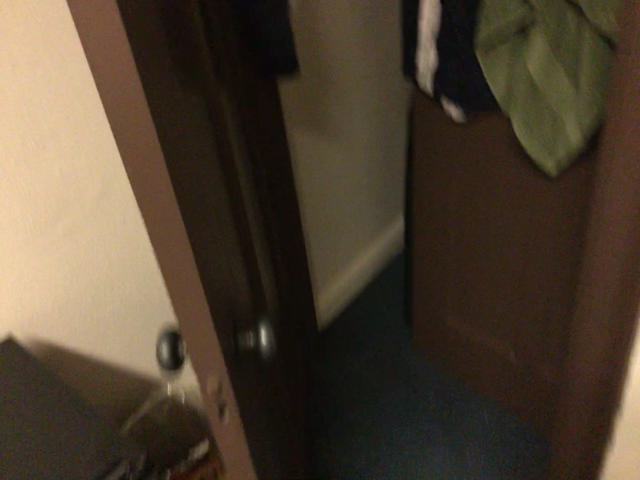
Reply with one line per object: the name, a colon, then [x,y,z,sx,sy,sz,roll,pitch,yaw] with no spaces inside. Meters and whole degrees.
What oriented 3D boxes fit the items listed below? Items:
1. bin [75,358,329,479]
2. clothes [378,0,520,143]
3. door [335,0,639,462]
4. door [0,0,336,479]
bin: [-0.230,0.570,1.290,0.410,0.390,0.300,17,42,32]
clothes: [0.270,-0.440,1.230,0.270,0.420,0.100,17,42,33]
door: [0.380,-0.420,1.140,0.600,1.990,0.340,17,42,32]
door: [-0.150,-0.120,0.830,0.150,2.030,0.750,-12,35,-4]
